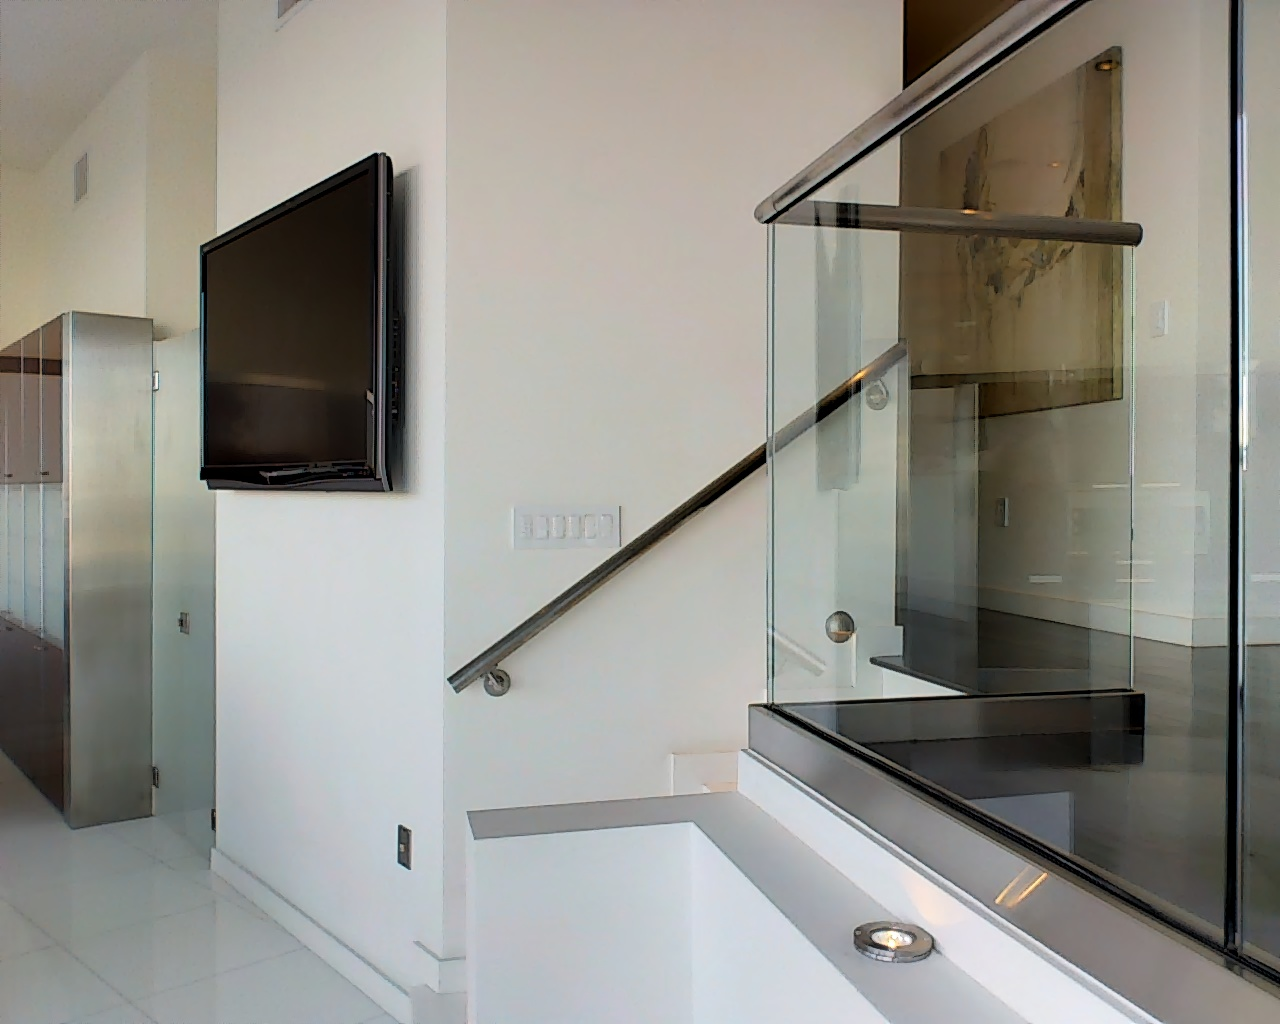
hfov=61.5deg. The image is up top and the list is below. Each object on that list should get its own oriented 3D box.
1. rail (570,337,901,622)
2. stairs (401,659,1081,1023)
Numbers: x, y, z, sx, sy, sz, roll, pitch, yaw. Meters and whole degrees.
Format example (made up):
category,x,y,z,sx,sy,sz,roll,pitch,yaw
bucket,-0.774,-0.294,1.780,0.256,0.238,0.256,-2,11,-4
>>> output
category,x,y,z,sx,sy,sz,roll,pitch,yaw
rail,0.290,-0.090,3.210,0.980,0.800,0.150,0,1,-13
stairs,0.120,0.970,2.610,1.350,1.030,1.120,0,1,-13
